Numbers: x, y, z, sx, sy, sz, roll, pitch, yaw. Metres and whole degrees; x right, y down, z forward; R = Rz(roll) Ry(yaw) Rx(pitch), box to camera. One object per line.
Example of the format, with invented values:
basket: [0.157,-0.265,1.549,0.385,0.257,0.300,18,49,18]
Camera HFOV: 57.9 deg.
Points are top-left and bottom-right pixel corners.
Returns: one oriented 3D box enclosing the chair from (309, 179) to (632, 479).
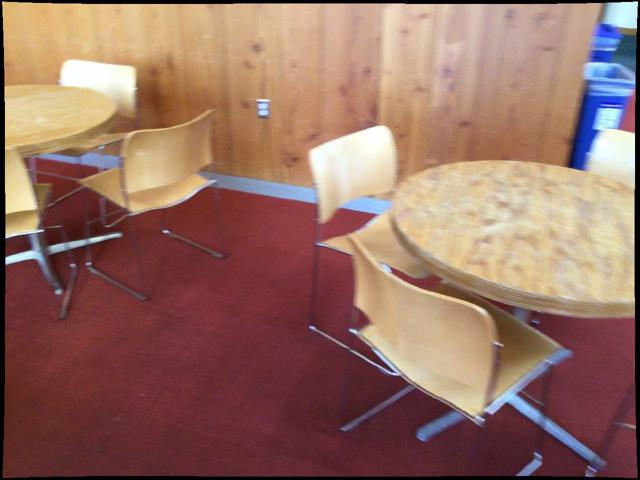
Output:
chair: [0.360,0.300,1.660,0.520,0.681,0.610,-17,36,-30]

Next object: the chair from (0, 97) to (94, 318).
chair: [-1.309,-0.140,2.280,0.579,0.681,0.580,-2,31,-8]

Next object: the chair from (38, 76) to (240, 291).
chair: [-0.759,-0.280,2.570,0.550,0.691,0.560,19,34,26]
